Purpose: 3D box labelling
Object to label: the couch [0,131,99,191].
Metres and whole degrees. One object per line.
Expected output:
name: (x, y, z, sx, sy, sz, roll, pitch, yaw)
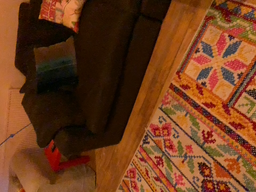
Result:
couch: (-1.110, 1.380, 2.750, 1.160, 0.810, 1.440, 19, 105, 48)
